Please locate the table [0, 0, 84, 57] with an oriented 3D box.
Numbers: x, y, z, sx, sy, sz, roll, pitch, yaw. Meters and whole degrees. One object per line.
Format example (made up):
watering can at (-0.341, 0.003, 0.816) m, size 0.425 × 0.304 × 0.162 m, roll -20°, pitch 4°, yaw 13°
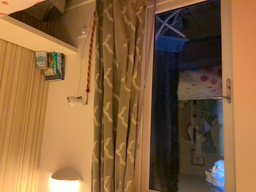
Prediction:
table at (-0.910, -0.840, 2.050) m, size 0.440 × 0.630 × 0.830 m, roll -2°, pitch 169°, yaw 32°
